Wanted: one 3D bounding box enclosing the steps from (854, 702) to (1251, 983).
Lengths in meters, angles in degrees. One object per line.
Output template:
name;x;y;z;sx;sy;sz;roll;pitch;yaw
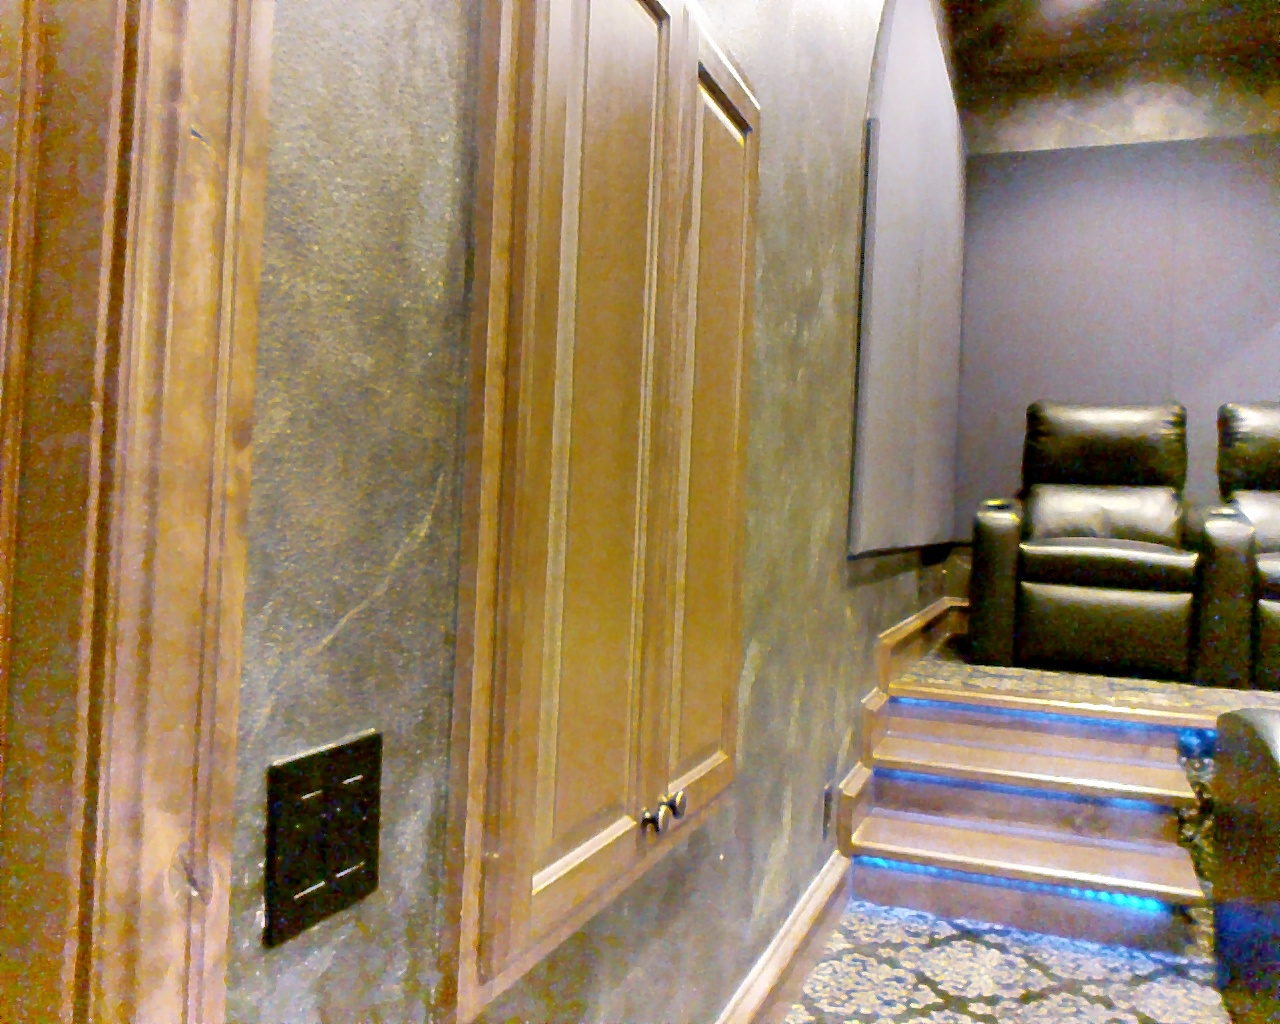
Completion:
steps;1.070;0.820;2.840;0.870;0.460;0.590;3;-1;22

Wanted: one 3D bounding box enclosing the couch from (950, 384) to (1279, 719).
couch;2.870;0.170;3.790;3.260;1.090;1.150;3;-1;22
